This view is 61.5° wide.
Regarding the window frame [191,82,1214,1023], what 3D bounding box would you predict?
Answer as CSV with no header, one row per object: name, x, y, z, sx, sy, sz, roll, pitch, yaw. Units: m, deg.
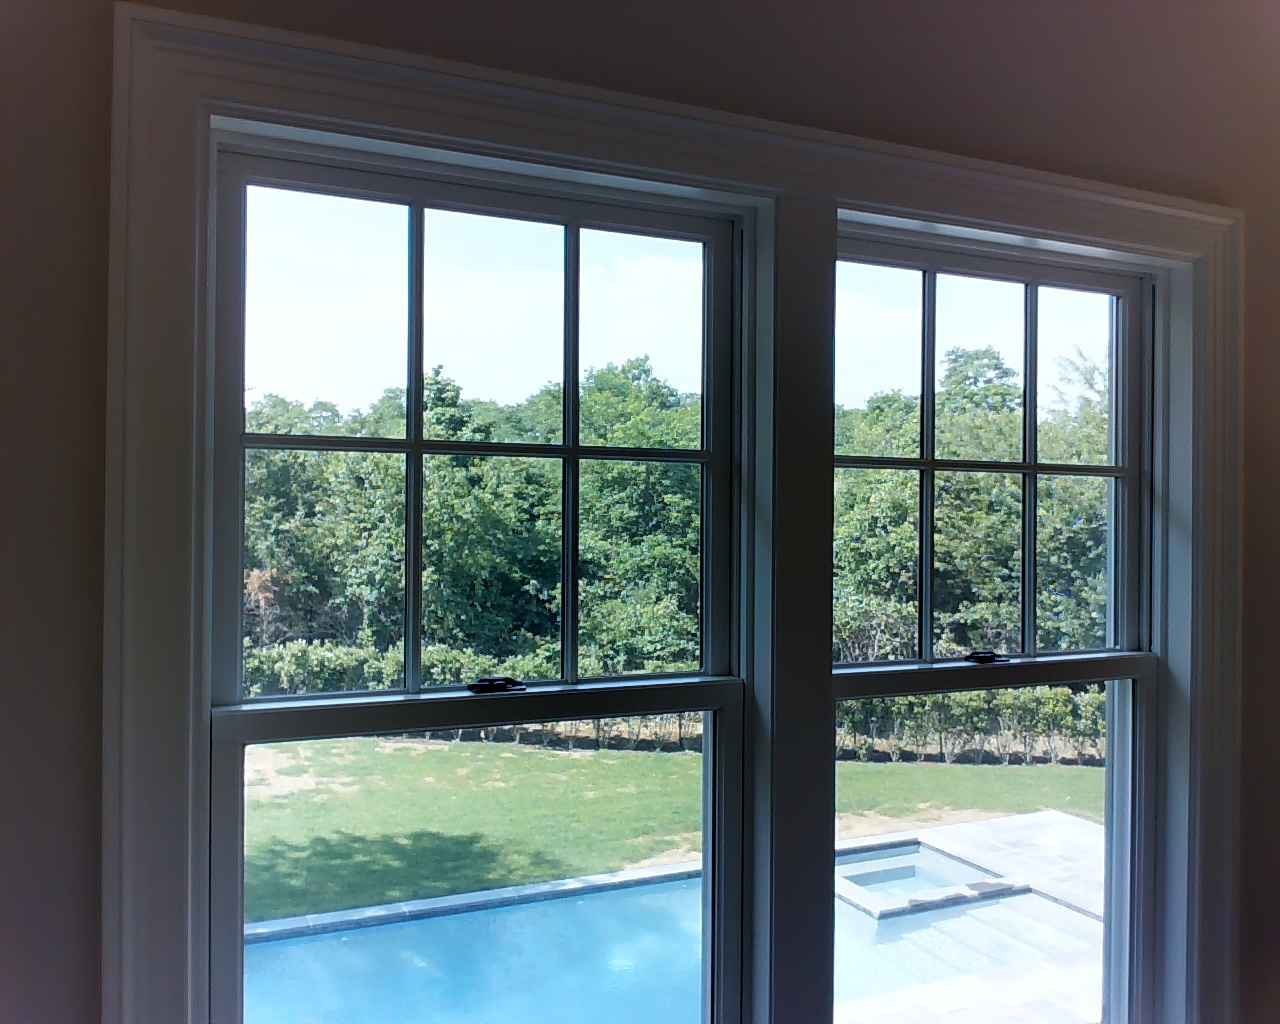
window frame,0.250,0.390,1.860,1.880,1.850,0.220,1,0,-25
